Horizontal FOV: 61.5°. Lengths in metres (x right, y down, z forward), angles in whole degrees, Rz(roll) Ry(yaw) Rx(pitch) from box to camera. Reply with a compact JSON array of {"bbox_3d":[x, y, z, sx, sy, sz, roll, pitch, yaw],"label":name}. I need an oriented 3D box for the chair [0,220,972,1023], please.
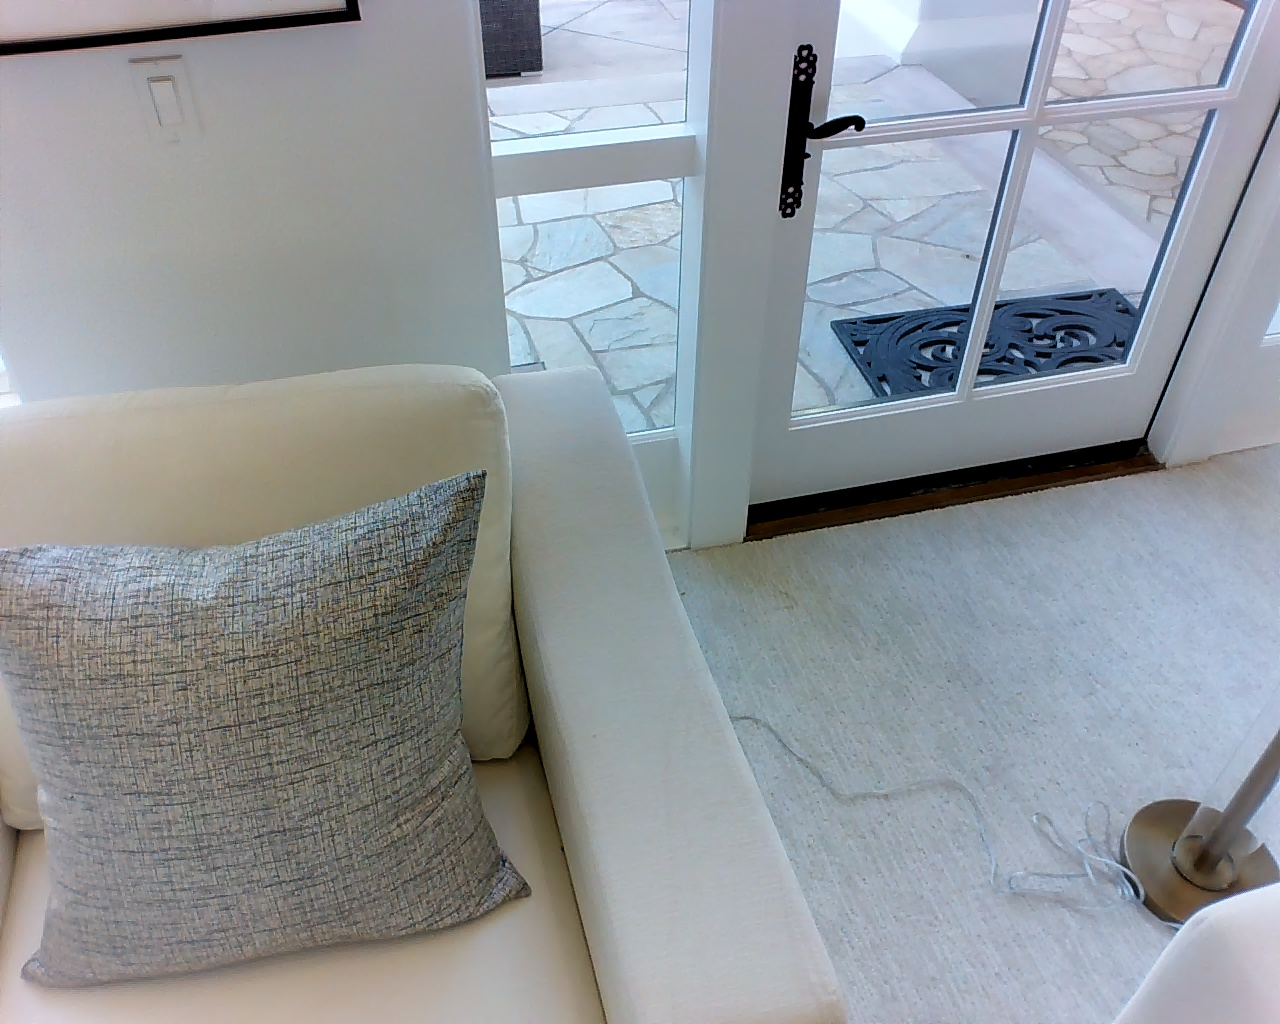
[{"bbox_3d":[-0.440,0.360,1.370,1.120,0.910,1.090,-9,43,-11],"label":"chair"}]
